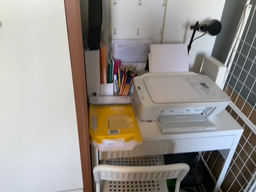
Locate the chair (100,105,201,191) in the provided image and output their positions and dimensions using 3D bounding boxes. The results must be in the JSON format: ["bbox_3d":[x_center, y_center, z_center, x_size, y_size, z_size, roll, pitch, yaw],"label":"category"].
[{"bbox_3d":[0.050,0.480,1.150,0.370,0.750,0.410,-2,31,-9],"label":"chair"}]
